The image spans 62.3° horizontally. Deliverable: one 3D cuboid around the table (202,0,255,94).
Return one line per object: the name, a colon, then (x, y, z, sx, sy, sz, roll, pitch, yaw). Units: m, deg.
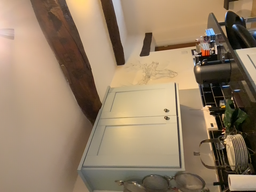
table: (1.500, -0.700, 2.630, 1.320, 0.930, 0.600, -78, -20, -51)
